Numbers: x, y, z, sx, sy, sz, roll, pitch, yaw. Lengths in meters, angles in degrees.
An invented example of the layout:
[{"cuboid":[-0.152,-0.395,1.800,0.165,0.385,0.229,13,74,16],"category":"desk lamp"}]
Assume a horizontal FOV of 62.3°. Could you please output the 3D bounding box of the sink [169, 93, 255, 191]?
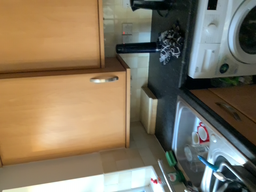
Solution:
[{"cuboid":[0.460,0.320,1.280,0.440,0.210,0.530,-120,28,-61],"category":"sink"}]
